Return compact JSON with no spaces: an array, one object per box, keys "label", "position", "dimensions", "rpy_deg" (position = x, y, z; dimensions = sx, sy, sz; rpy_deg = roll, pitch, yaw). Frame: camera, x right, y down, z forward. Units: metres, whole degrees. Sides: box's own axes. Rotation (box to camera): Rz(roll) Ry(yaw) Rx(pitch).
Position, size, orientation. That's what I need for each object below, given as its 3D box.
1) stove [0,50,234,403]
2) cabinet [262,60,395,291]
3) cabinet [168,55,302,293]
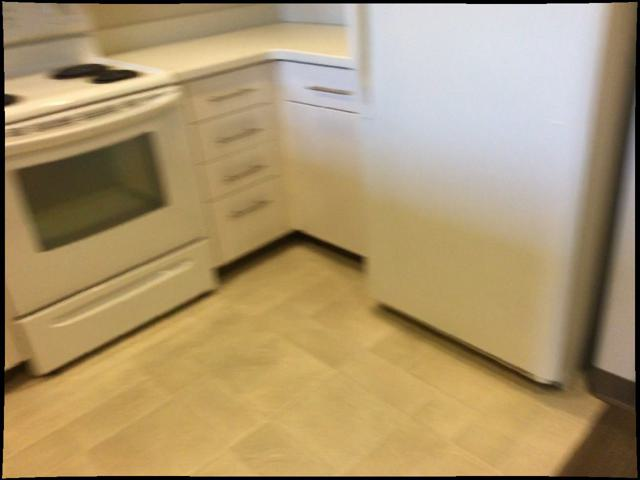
[{"label":"stove","position":[-0.948,-0.130,2.210],"dimensions":[0.719,0.952,0.839],"rpy_deg":[22,38,40]},{"label":"cabinet","position":[0.040,-0.271,2.390],"dimensions":[0.599,0.862,0.090],"rpy_deg":[22,38,40]},{"label":"cabinet","position":[-0.319,-0.271,2.430],"dimensions":[0.090,0.892,0.490],"rpy_deg":[22,38,40]}]
